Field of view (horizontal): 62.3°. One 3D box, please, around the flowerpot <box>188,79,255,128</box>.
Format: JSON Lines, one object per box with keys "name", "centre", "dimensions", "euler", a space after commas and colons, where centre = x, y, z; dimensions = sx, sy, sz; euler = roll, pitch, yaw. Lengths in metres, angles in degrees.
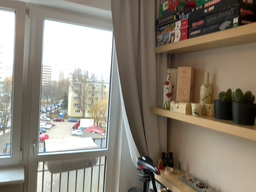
{"name": "flowerpot", "centre": [0.620, 0.030, 1.390], "dimensions": [0.190, 0.270, 0.410], "euler": [2, 3, -25]}
